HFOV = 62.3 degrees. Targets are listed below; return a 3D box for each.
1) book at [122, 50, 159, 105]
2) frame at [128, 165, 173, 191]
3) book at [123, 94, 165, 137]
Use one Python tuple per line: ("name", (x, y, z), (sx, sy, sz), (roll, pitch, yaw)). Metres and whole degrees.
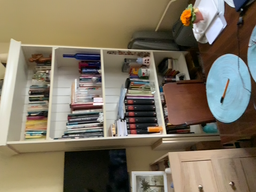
("book", (0.110, -0.180, 2.180), (0.320, 0.260, 0.460), (112, 156, -59))
("frame", (0.180, 0.710, 1.750), (0.090, 0.330, 0.230), (85, 179, -64))
("book", (0.140, 0.190, 2.020), (0.260, 0.310, 0.340), (115, 153, -63))
